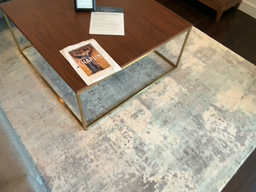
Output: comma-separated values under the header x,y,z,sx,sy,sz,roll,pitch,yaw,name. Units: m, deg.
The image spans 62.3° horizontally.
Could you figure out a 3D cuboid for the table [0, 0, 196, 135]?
x,y,z,sx,sy,sz,roll,pitch,yaw,name
-0.230,-0.410,1.530,0.940,0.410,0.930,-32,62,-25,table
